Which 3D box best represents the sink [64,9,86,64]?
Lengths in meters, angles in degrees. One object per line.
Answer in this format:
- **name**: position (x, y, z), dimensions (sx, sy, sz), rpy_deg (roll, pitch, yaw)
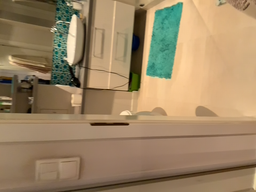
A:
- **sink**: position (-0.640, -0.690, 2.550), dimensions (0.380, 0.130, 0.570), rpy_deg (9, 94, 63)
